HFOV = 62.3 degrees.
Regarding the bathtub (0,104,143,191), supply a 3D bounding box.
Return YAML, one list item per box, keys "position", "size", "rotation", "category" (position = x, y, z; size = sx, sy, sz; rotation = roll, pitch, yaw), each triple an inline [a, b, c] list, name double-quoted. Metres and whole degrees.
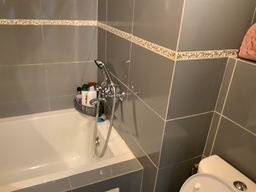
- position: [-0.750, 0.560, 1.210]
  size: [1.420, 0.580, 0.780]
  rotation: [-7, 26, -25]
  category: "bathtub"
